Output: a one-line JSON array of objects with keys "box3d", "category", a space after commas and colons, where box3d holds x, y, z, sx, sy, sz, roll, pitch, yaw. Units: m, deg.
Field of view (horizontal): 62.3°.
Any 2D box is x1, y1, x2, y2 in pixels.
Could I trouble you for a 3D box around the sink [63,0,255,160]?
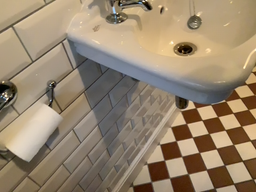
[{"box3d": [0.160, -0.160, 0.520, 0.360, 0.180, 0.460, 26, 58, 27], "category": "sink"}]
